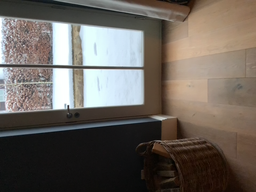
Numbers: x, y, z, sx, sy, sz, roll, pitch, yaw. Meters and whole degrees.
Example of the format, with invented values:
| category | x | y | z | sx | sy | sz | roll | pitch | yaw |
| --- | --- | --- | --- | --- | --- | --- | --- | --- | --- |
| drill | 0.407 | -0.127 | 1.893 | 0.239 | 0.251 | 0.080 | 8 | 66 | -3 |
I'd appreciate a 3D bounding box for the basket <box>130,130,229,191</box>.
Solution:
| category | x | y | z | sx | sy | sz | roll | pitch | yaw |
| --- | --- | --- | --- | --- | --- | --- | --- | --- | --- |
| basket | 0.380 | 0.640 | 1.690 | 0.540 | 0.540 | 0.580 | -175 | 83 | -64 |
